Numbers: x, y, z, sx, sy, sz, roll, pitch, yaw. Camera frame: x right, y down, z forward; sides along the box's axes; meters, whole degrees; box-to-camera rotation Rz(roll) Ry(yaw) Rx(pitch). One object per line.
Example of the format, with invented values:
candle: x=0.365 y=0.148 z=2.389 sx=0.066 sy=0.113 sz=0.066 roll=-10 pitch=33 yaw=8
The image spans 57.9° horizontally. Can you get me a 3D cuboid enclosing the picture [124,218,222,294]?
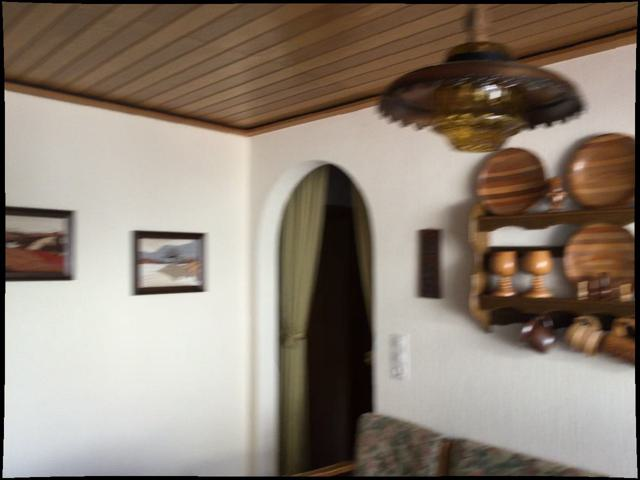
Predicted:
picture: x=-0.819 y=0.090 z=3.280 sx=0.560 sy=0.400 sz=0.090 roll=2 pitch=-1 yaw=-44

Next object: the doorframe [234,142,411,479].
doorframe: x=-0.030 y=0.591 z=3.290 sx=0.310 sy=2.122 sz=1.089 roll=2 pitch=-1 yaw=-44

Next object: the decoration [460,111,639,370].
decoration: x=1.009 y=0.000 z=2.080 sx=0.140 sy=0.861 sz=1.069 roll=2 pitch=-1 yaw=-44
